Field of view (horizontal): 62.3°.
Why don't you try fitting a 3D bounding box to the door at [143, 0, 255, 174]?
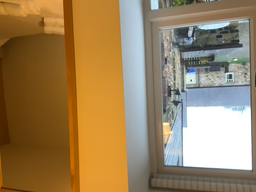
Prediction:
[{"bbox_3d":[0.710,-0.540,1.120,1.250,1.910,0.110,-2,-176,13],"label":"door"}]
